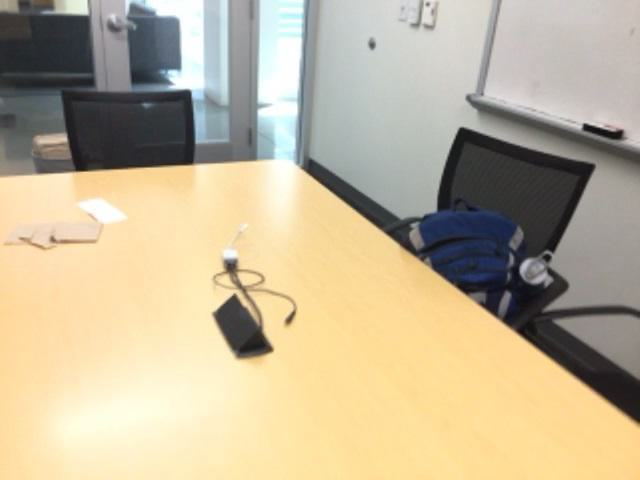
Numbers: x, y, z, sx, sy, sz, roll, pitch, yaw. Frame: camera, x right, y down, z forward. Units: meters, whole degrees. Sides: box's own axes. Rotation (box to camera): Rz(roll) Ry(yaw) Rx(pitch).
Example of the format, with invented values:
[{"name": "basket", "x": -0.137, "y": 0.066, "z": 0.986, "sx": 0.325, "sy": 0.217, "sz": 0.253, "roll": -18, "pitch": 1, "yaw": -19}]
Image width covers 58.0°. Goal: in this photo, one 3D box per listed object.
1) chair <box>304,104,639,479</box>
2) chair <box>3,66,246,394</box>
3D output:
[{"name": "chair", "x": 0.370, "y": 0.130, "z": 1.710, "sx": 0.620, "sy": 0.890, "sz": 0.670, "roll": -6, "pitch": 28, "yaw": -19}, {"name": "chair", "x": -0.660, "y": -0.080, "z": 2.020, "sx": 0.640, "sy": 0.910, "sz": 0.570, "roll": -10, "pitch": 30, "yaw": -25}]
